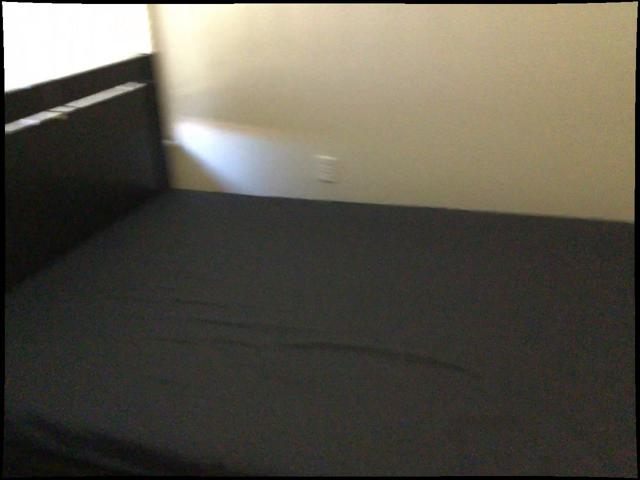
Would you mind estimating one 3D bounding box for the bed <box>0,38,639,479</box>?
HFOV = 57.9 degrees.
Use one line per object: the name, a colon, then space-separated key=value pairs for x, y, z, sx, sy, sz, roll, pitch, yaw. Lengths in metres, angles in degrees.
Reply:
bed: x=0.060 y=0.080 z=1.660 sx=2.138 sy=1.001 sz=1.480 roll=7 pitch=30 yaw=17
